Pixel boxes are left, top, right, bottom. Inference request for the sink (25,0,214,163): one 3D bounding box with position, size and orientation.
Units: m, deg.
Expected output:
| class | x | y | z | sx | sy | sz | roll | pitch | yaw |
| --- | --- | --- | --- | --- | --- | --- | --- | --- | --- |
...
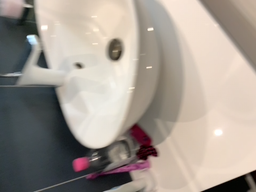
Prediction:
| class | x | y | z | sx | sy | sz | roll | pitch | yaw |
| --- | --- | --- | --- | --- | --- | --- | --- | --- | --- |
| sink | -0.090 | -0.150 | 0.630 | 0.370 | 0.200 | 0.540 | -44 | 62 | 37 |
